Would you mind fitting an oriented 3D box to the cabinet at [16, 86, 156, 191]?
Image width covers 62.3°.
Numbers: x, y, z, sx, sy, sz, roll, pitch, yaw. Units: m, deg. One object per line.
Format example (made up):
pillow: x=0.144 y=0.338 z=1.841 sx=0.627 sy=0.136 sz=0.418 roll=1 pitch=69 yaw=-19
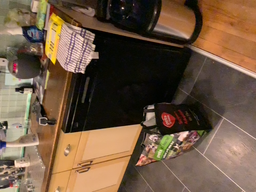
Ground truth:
cabinet: x=-0.510 y=0.760 z=2.070 sx=0.610 sy=0.880 sz=1.590 roll=42 pitch=122 yaw=43
